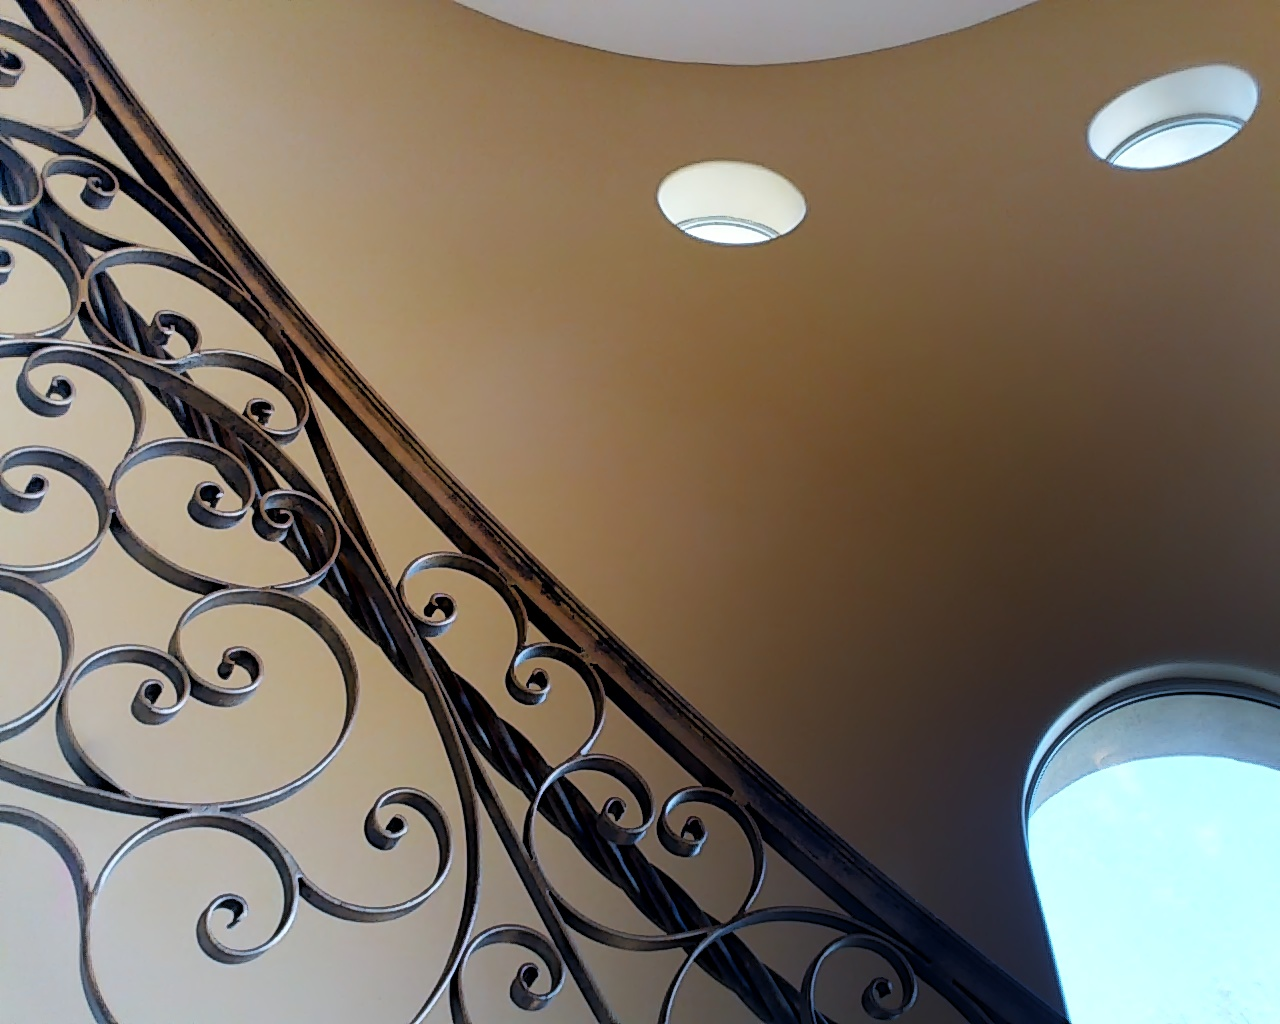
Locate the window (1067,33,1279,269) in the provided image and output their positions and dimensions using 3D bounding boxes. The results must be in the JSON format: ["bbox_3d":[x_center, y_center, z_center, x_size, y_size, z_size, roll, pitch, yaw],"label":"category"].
[{"bbox_3d":[2.009,-1.340,3.980,0.560,0.580,0.390,-24,-47,23],"label":"window"}]
